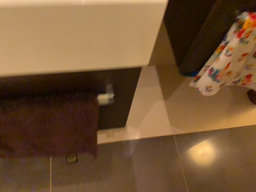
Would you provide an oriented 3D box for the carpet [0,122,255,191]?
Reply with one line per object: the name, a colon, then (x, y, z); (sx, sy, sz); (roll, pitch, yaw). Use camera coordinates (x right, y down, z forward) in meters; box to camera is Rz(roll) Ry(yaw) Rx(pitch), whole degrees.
carpet: (-0.160, 0.480, 0.890); (2.050, 0.070, 0.600); (-4, 64, -9)
